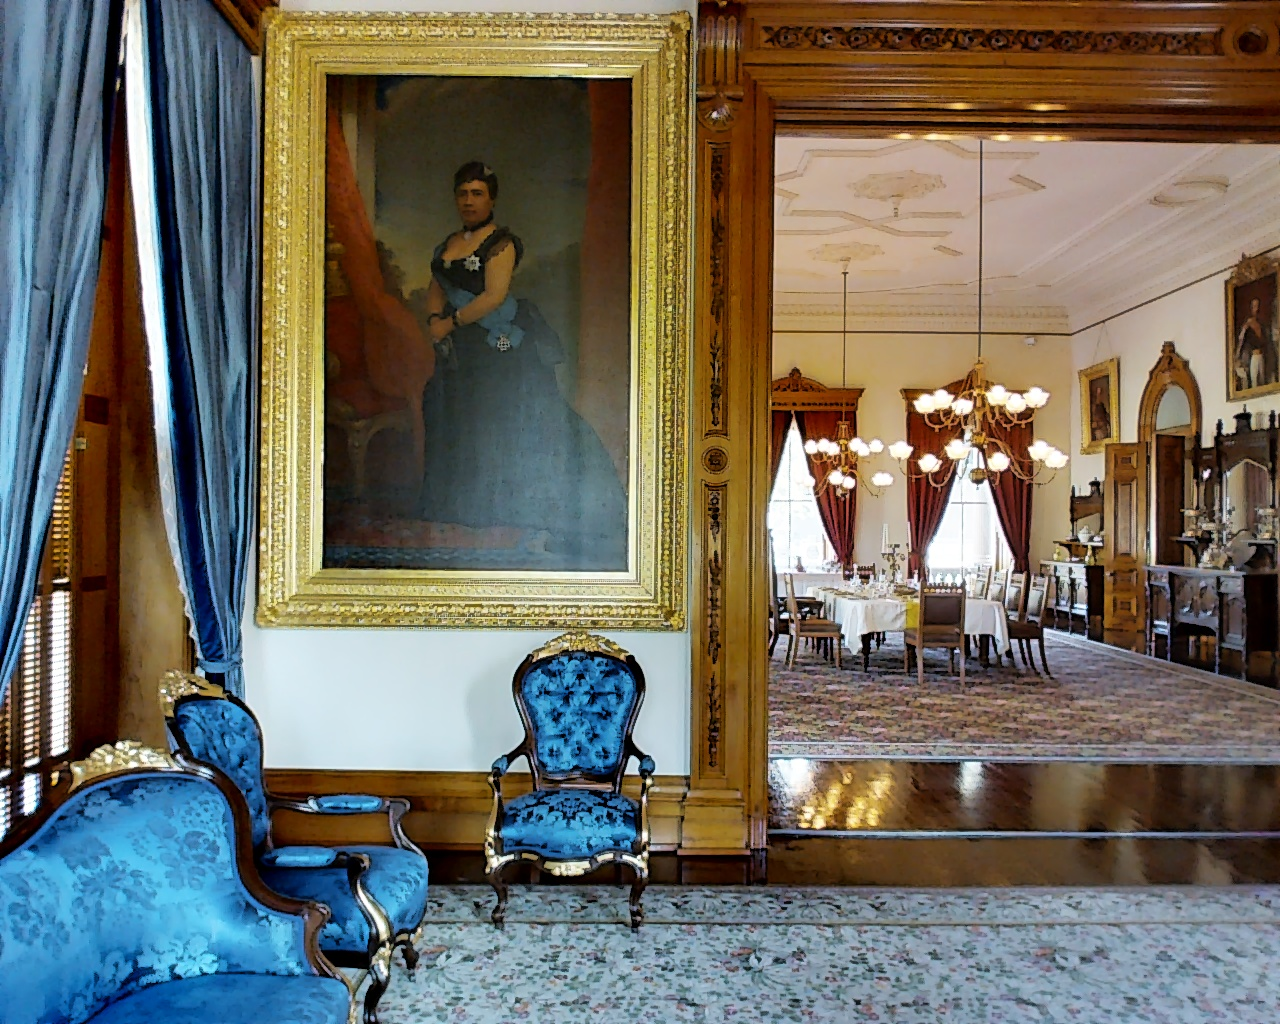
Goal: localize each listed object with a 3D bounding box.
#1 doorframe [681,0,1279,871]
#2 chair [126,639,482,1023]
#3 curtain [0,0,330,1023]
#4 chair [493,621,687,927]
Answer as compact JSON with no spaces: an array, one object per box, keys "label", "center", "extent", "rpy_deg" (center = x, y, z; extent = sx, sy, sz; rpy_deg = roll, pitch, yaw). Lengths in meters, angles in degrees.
[{"label":"doorframe","center":[3.090,-0.780,5.110],"extent":[5.689,4.761,0.640],"rpy_deg":[1,-1,1]},{"label":"chair","center":[-1.030,0.990,3.500],"extent":[0.880,1.050,0.790],"rpy_deg":[1,-1,1]},{"label":"curtain","center":[-1.600,-0.650,3.590],"extent":[0.310,4.351,2.440],"rpy_deg":[1,-1,1]},{"label":"chair","center":[-0.180,1.030,4.490],"extent":[0.710,1.050,0.890],"rpy_deg":[1,-1,1]}]
